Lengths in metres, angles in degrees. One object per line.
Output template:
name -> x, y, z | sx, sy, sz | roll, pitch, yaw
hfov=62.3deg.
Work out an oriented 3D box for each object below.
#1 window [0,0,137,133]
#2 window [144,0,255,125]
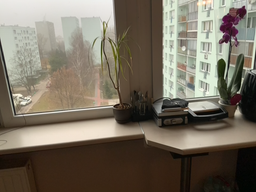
window -> -0.420, -0.490, 1.350 | 0.890, 1.420, 0.190 | -4, 17, -6
window -> 0.510, -0.520, 1.480 | 0.770, 1.430, 0.180 | -4, 17, -4
